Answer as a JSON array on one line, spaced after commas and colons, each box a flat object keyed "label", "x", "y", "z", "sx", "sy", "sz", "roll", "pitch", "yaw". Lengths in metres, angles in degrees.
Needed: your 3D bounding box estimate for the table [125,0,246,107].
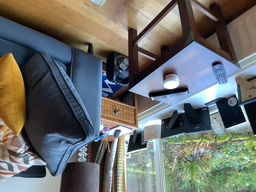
[{"label": "table", "x": 0.280, "y": -0.280, "z": 1.240, "sx": 0.390, "sy": 0.460, "sz": 0.490, "roll": 18, "pitch": 146, "yaw": -29}]
